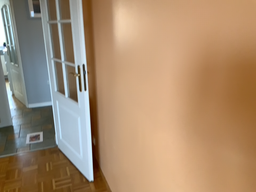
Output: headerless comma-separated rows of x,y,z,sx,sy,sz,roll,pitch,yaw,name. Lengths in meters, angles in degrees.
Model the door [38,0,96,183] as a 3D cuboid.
-0.660,-0.260,2.200,0.120,2.030,1.050,-12,22,-32,door
